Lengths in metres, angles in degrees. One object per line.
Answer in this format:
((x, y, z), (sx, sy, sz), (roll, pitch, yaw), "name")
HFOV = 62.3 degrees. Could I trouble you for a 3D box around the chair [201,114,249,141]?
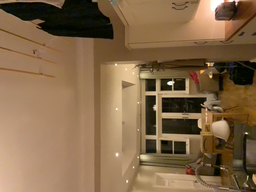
((2.080, 0.700, 4.650), (0.500, 0.840, 0.470), (64, -152, -69), "chair")
